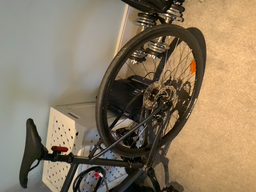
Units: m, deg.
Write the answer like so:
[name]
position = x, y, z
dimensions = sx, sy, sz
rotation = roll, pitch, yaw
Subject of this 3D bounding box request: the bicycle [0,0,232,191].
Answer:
[bicycle]
position = -0.210, 0.410, 1.140
dimensions = 0.650, 0.930, 1.780
rotation = 25, 109, 34
